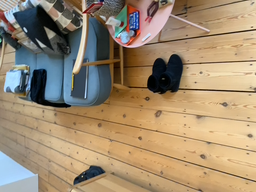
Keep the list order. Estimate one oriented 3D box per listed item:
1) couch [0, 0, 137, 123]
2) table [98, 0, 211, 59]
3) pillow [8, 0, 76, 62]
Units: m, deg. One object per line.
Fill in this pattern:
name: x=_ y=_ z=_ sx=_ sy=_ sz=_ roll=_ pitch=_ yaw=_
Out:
couch: x=-0.850 y=-0.430 z=2.090 sx=1.760 sy=0.760 sz=1.000 roll=7 pitch=96 yaw=42
table: x=0.170 y=-0.530 z=1.330 sx=0.510 sy=0.490 sz=0.500 roll=3 pitch=94 yaw=42
pillow: x=-0.750 y=-0.530 z=1.810 sx=0.540 sy=0.440 sz=0.120 roll=1 pitch=48 yaw=52
